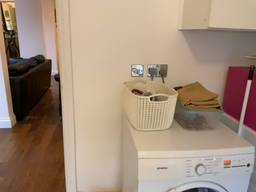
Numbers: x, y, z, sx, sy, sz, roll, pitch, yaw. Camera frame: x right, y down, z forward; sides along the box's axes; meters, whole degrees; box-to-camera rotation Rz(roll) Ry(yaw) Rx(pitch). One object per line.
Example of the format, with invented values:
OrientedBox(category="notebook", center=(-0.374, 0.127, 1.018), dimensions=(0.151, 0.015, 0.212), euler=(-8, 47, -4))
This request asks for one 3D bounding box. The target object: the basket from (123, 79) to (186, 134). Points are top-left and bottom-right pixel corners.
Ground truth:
OrientedBox(category="basket", center=(0.130, 0.040, 1.300), dimensions=(0.280, 0.200, 0.430), euler=(0, 17, -7))
